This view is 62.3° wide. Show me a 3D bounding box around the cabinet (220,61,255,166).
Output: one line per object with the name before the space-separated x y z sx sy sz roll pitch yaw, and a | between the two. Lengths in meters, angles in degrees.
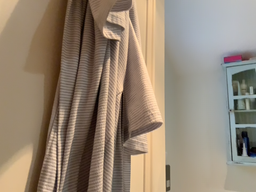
cabinet | 0.780 0.100 1.260 0.380 0.600 0.140 -5 -14 31

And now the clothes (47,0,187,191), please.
clothes | 0.020 -0.220 0.490 0.120 0.760 0.290 -6 -14 34
